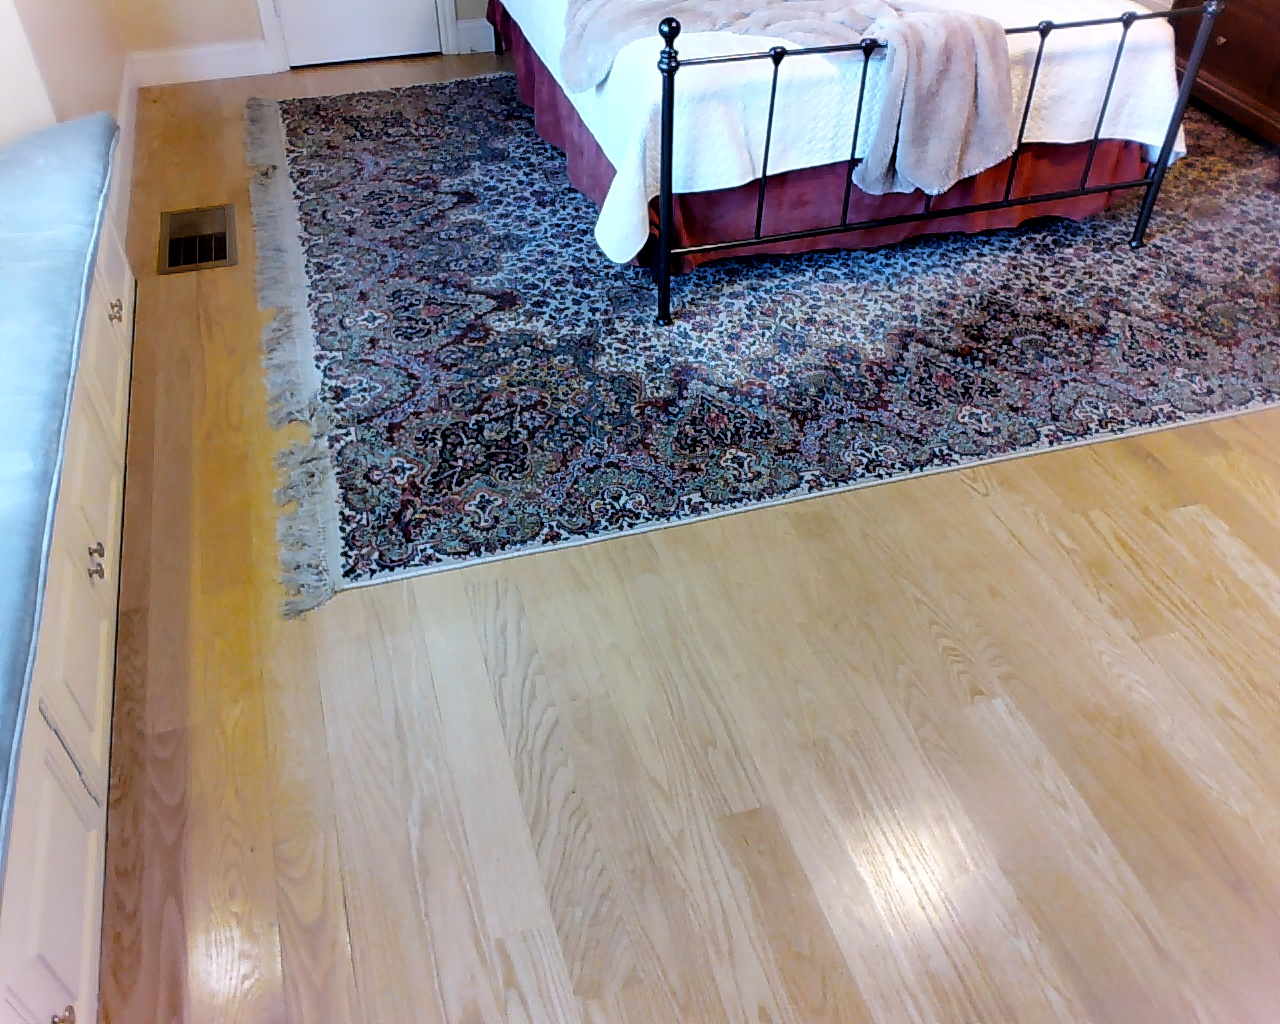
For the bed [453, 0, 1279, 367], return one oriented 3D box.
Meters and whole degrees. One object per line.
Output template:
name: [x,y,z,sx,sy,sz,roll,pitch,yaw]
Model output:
bed: [0.490,-1.590,3.630,1.860,0.720,2.350,-12,44,-13]
